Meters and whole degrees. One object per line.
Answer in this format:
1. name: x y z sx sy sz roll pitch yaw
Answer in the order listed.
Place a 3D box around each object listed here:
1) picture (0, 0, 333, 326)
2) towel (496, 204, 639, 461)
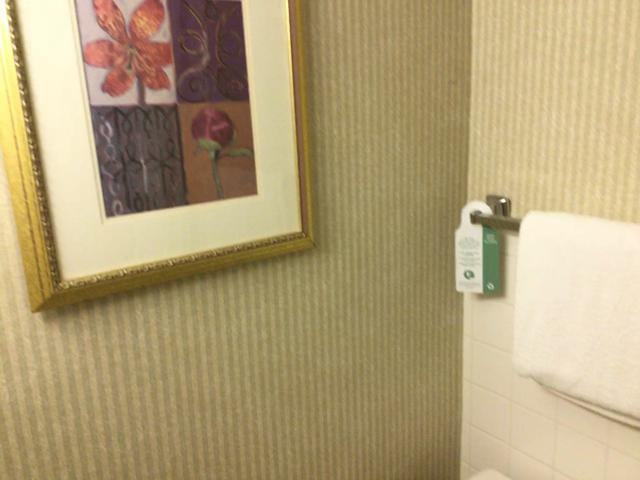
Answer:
1. picture: -0.200 -0.150 0.850 0.480 0.440 0.060 -12 14 -35
2. towel: 0.470 0.140 1.010 0.130 0.370 0.290 -12 14 -35
